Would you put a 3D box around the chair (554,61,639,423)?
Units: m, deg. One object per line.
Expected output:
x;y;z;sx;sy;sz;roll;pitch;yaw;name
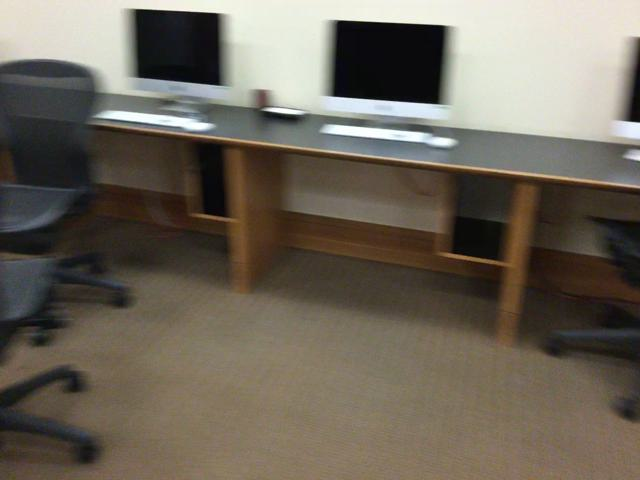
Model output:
1.250;0.020;1.940;0.630;1.060;0.630;13;27;18;chair

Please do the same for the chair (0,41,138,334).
-1.180;-0.230;2.400;0.660;1.050;0.620;-1;26;-9;chair
